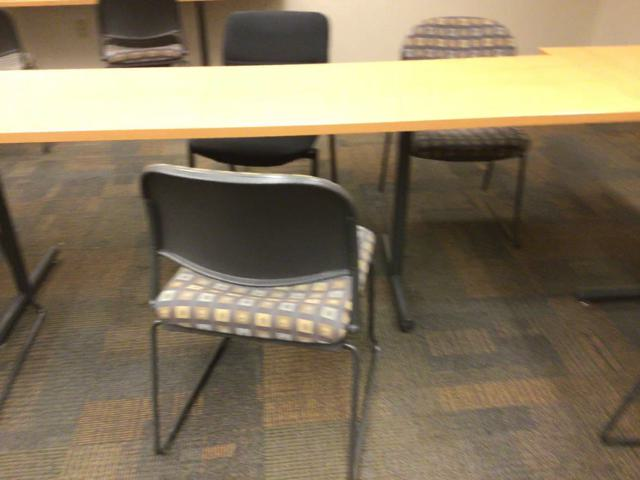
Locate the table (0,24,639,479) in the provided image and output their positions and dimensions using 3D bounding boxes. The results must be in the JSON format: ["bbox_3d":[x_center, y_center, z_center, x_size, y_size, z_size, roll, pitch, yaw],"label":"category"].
[{"bbox_3d":[-0.300,0.720,0.190,3.940,0.870,4.540,-2,28,-6],"label":"table"}]

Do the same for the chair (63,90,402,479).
[{"bbox_3d":[-0.130,0.080,1.390,0.570,0.710,0.580,5,28,7],"label":"chair"}]

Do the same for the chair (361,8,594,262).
[{"bbox_3d":[0.510,-0.420,2.190,0.570,0.780,0.630,-2,28,-6],"label":"chair"}]

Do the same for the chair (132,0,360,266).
[{"bbox_3d":[-0.210,-0.440,2.170,0.620,0.770,0.700,5,28,7],"label":"chair"}]
